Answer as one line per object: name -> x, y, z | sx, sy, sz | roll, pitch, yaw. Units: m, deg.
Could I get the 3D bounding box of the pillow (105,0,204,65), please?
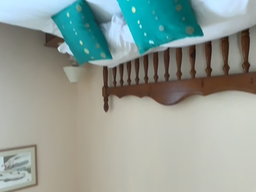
pillow -> 0.110, -0.410, 0.970 | 0.160, 0.370, 0.370 | -22, -127, -43

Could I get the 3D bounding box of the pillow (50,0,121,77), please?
pillow -> -0.300, -0.400, 1.360 | 0.140, 0.360, 0.460 | -7, -139, -46
